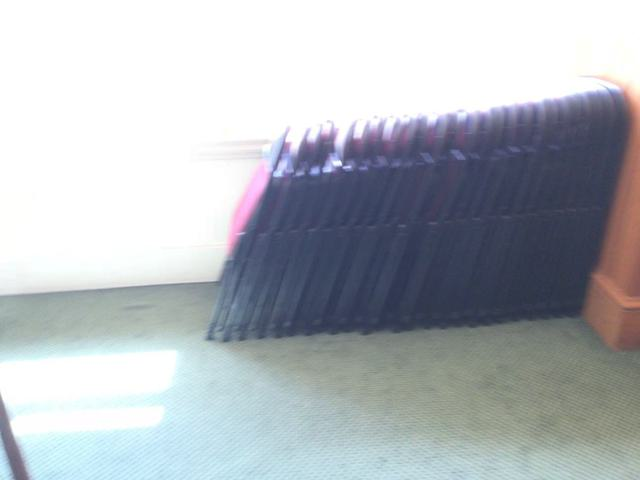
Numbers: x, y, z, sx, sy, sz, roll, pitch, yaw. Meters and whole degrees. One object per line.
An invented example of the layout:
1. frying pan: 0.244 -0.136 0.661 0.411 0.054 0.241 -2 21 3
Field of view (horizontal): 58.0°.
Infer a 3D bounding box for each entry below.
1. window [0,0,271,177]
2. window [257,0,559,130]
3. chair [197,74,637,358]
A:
1. window: -0.960 -0.850 2.190 1.420 1.110 0.300 -6 24 -2
2. window: 0.330 -1.060 2.330 1.170 1.060 0.310 -6 24 -2
3. chair: 0.350 -0.100 2.250 1.460 0.880 0.390 -6 24 -2
